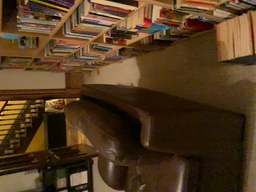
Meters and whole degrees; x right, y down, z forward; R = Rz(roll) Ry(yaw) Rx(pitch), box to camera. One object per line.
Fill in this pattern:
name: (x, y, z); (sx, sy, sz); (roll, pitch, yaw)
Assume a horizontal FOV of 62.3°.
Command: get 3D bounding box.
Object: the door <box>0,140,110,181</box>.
door: (-1.480, 0.930, 3.040); (0.970, 2.230, 0.120); (-2, 90, 59)
